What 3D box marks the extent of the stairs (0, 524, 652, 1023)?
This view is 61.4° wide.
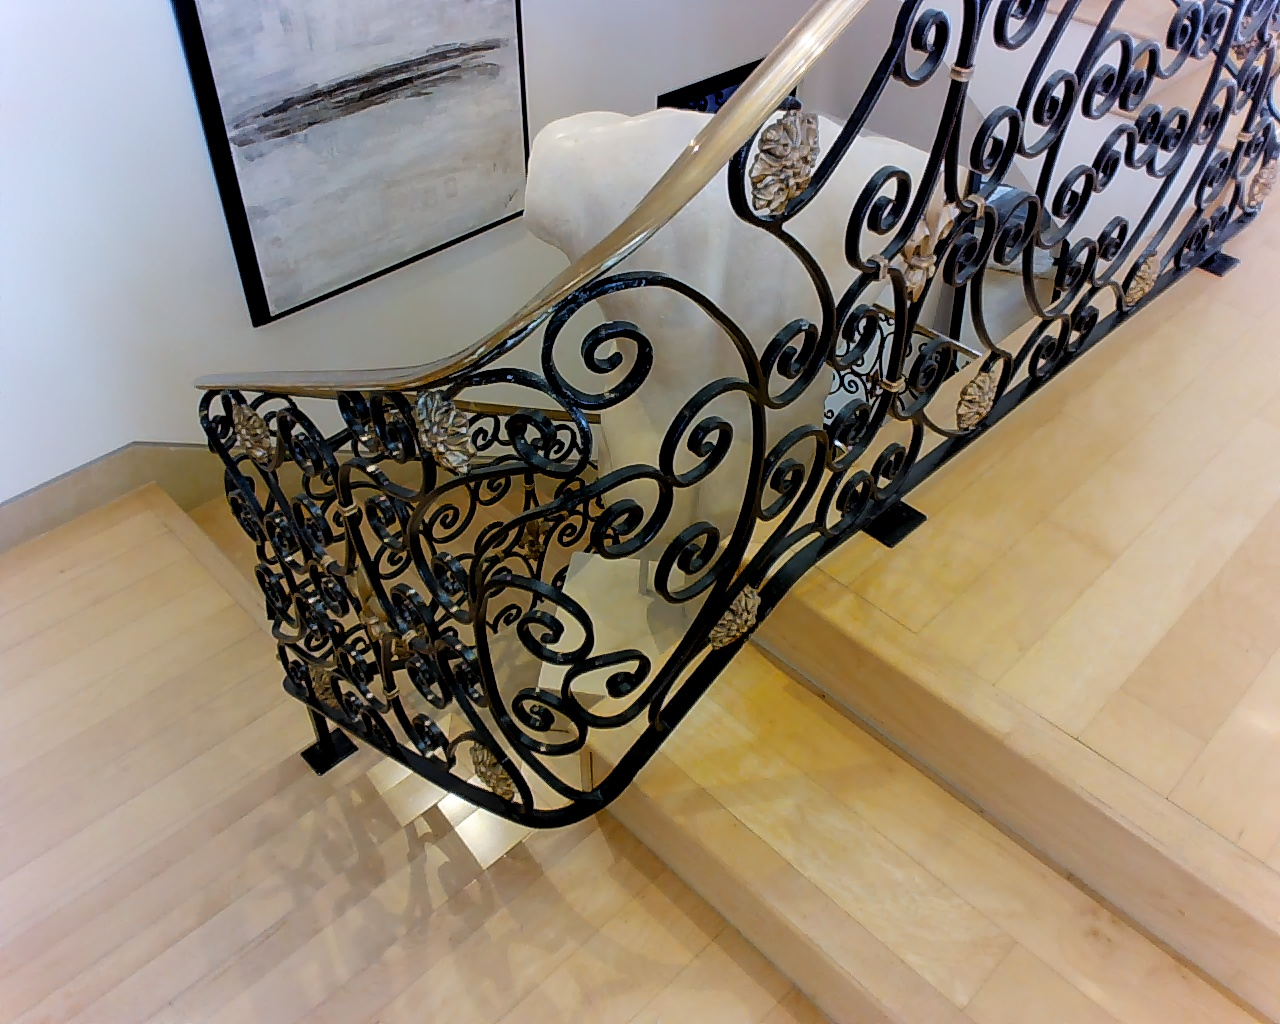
[{"bbox_3d":[-0.730,0.790,1.920,1.290,0.720,0.810,-33,53,-31],"label":"stairs"}]
